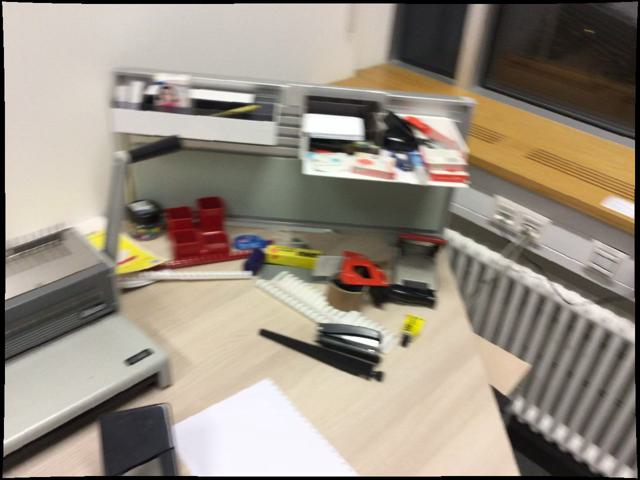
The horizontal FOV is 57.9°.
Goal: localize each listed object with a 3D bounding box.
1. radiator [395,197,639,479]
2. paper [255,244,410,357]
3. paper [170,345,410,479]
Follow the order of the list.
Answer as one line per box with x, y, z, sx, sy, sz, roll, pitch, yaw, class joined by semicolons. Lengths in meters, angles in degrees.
0.849;0.460;1.620;1.270;0.650;0.240;31;42;30;radiator
0.020;0.120;1.260;0.340;0.030;0.120;31;42;30;paper
-0.050;0.330;0.960;0.310;0.030;0.250;31;42;30;paper
